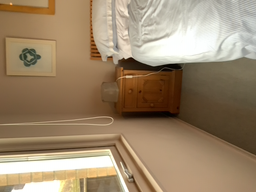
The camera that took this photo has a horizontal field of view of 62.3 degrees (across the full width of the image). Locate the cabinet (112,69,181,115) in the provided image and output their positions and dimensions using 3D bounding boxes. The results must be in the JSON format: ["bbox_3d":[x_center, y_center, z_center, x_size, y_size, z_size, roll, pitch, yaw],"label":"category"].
[{"bbox_3d":[0.180,-0.060,2.270,0.400,0.620,0.430,-155,65,-74],"label":"cabinet"}]
